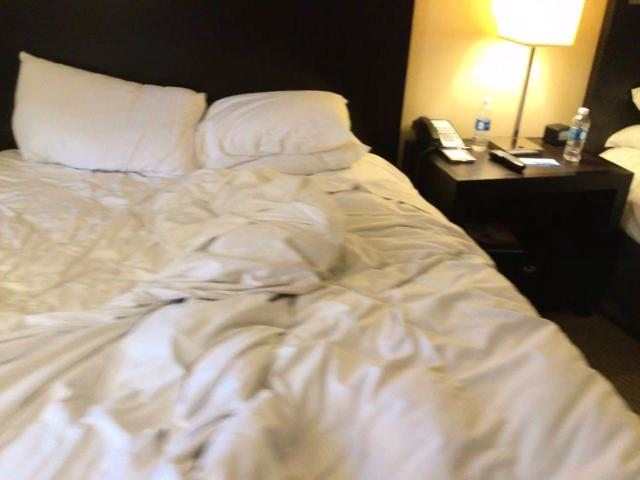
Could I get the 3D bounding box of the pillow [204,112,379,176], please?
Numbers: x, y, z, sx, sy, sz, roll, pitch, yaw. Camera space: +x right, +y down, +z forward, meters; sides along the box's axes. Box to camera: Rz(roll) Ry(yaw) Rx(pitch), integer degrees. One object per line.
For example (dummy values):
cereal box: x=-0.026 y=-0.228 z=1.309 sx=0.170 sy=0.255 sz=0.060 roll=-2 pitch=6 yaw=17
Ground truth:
pillow: x=-0.120 y=-0.360 z=2.100 sx=0.570 sy=0.110 sz=0.380 roll=-4 pitch=26 yaw=-12

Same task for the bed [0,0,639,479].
bed: x=-0.240 y=-0.020 z=1.310 sx=1.830 sy=1.590 sz=2.140 roll=-4 pitch=26 yaw=-12

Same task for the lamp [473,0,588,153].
lamp: x=0.810 y=-0.710 z=2.260 sx=0.220 sy=0.670 sz=0.290 roll=-4 pitch=26 yaw=-12

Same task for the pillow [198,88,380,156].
pillow: x=-0.130 y=-0.430 z=2.040 sx=0.570 sy=0.120 sz=0.430 roll=-4 pitch=26 yaw=-12

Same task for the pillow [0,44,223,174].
pillow: x=-0.690 y=-0.450 z=1.960 sx=0.660 sy=0.360 sz=0.300 roll=1 pitch=25 yaw=-1
